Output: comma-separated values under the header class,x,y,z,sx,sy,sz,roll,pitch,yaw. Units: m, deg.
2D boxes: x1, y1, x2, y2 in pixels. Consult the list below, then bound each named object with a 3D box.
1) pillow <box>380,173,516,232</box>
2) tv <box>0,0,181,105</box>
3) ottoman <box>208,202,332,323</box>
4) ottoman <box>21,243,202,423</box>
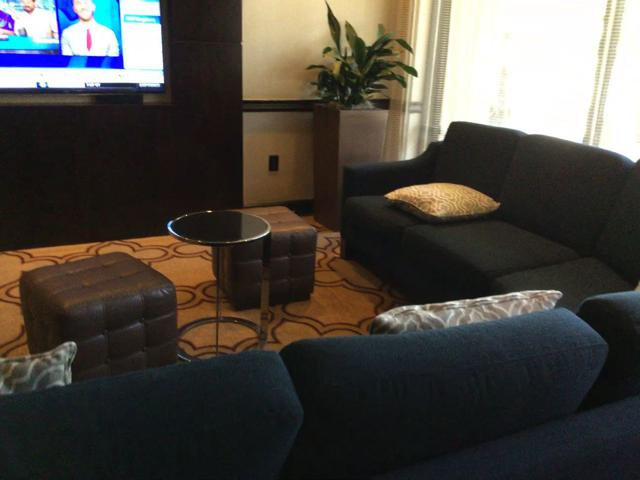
class,x,y,z,sx,sy,sz,roll,pitch,yaw
pillow,0.710,-0.230,3.280,0.520,0.170,0.530,-6,21,-25
tv,-1.520,-1.240,3.450,1.290,0.800,0.300,-6,21,-25
ottoman,-0.300,0.100,3.220,0.520,0.470,0.520,-5,21,-25
ottoman,-0.870,0.350,2.440,0.540,0.460,0.510,-13,25,-40
